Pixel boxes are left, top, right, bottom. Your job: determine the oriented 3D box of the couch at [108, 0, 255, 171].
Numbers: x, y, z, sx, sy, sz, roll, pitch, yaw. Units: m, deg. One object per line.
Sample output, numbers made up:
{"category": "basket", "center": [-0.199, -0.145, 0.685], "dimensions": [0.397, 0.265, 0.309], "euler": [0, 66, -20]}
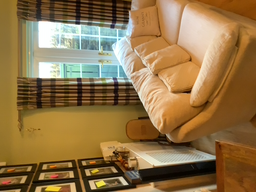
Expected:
{"category": "couch", "center": [0.460, -0.450, 2.380], "dimensions": [2.100, 0.860, 1.130], "euler": [-116, 31, -52]}
